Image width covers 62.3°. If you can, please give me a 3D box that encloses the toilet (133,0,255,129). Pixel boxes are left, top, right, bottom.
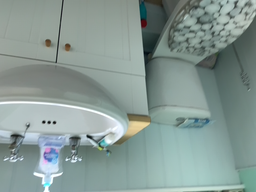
[{"bbox_3d":[0.380,-0.310,1.100,0.440,0.770,0.700,6,154,-20],"label":"toilet"}]

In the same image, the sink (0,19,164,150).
[{"bbox_3d":[-0.280,0.030,0.740,0.590,0.200,0.550,6,154,-20],"label":"sink"}]
